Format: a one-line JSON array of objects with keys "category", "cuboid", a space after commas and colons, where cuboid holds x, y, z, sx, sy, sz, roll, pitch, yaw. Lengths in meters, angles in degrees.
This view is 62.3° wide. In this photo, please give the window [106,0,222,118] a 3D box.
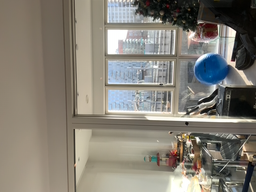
[{"category": "window", "cuboid": [0.660, -0.720, 4.210, 0.110, 2.200, 2.260, -63, -26, -83]}]
